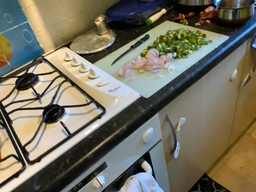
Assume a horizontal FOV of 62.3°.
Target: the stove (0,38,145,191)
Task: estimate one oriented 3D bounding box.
[{"bbox_3d":[-0.340,0.030,0.660,0.590,0.040,0.520,-37,46,-23],"label":"stove"}]
